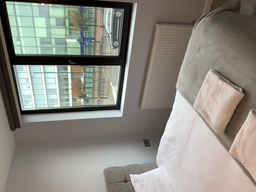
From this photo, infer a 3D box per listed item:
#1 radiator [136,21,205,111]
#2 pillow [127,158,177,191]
[{"bbox_3d":[0.500,-0.310,2.760,0.050,0.620,1.250,-110,24,-51],"label":"radiator"},{"bbox_3d":[0.290,1.080,2.350,0.700,0.470,0.130,-108,2,-52],"label":"pillow"}]
